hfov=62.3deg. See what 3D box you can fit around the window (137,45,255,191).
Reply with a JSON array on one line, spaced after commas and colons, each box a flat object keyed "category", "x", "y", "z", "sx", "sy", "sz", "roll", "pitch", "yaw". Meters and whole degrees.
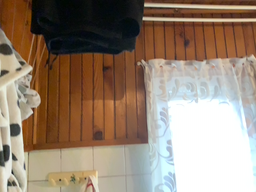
[{"category": "window", "x": 0.410, "y": 0.280, "z": 0.980, "sx": 0.680, "sy": 1.040, "sz": 0.090, "roll": -2, "pitch": -9, "yaw": -5}]
